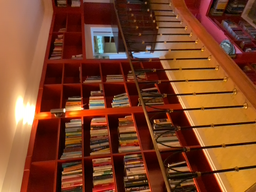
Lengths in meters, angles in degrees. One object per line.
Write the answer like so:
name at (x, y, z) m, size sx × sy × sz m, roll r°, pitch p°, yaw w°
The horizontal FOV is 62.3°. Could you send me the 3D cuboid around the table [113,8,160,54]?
table at (0.130, -1.300, 4.290) m, size 0.730 × 0.770 × 0.510 m, roll 99°, pitch 164°, yaw -44°
